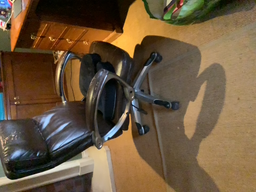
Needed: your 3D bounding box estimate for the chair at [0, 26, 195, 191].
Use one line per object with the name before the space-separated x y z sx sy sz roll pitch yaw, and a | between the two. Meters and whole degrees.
chair | -0.270 0.030 1.420 0.740 1.020 0.760 33 120 47
